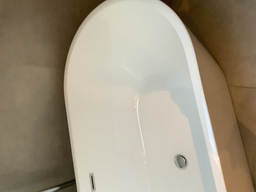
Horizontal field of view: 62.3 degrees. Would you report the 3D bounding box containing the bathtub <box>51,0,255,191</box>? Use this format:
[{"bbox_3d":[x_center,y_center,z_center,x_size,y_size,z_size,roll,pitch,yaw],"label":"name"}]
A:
[{"bbox_3d":[0.190,0.410,1.130,0.820,0.580,1.730,-17,80,39],"label":"bathtub"}]
